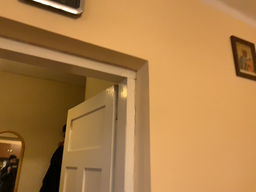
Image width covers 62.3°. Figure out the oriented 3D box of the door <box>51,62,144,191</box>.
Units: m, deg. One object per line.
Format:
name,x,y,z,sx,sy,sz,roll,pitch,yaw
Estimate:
door,-0.310,0.880,1.330,0.150,1.840,1.250,11,-20,-28
